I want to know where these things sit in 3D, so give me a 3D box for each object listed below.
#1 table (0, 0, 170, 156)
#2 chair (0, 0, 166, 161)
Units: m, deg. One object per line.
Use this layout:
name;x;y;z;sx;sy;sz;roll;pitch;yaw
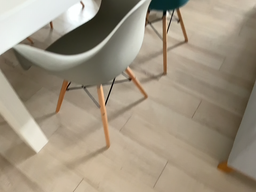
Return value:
table;-0.460;-0.640;1.440;0.930;0.760;1.620;27;58;19
chair;-0.220;-0.210;1.090;0.560;0.810;0.610;25;57;18
